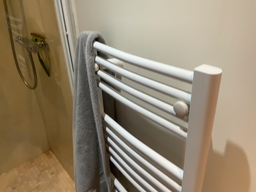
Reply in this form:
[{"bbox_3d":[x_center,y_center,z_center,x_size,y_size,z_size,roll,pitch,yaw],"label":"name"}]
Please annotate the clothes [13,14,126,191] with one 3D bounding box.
[{"bbox_3d":[-0.180,0.200,0.850,0.220,0.950,0.250,-21,34,-31],"label":"clothes"}]
